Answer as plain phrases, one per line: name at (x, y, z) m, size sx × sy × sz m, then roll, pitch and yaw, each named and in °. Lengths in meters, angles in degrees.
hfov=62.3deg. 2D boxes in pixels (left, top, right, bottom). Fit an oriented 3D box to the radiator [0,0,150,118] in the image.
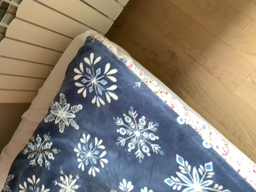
radiator at (-0.240, -0.350, 0.940) m, size 0.180 × 0.550 × 1.080 m, roll 48°, pitch 110°, yaw 19°
